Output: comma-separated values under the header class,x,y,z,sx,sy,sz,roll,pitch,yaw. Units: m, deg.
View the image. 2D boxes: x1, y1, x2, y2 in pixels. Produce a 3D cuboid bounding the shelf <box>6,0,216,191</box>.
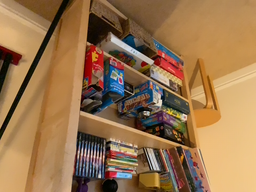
class,x,y,z,sx,sy,sz,roll,pitch,yaw
shelf,-0.010,0.100,1.250,0.990,1.140,0.420,24,142,-37
